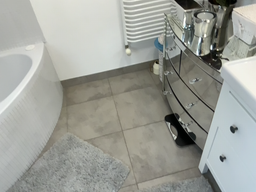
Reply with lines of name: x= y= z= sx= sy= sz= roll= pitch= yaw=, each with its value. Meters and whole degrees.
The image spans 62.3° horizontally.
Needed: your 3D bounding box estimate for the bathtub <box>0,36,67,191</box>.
bathtub: x=-1.210 y=0.280 z=1.490 sx=1.370 sy=0.550 sz=1.350 roll=-13 pitch=45 yaw=-6
